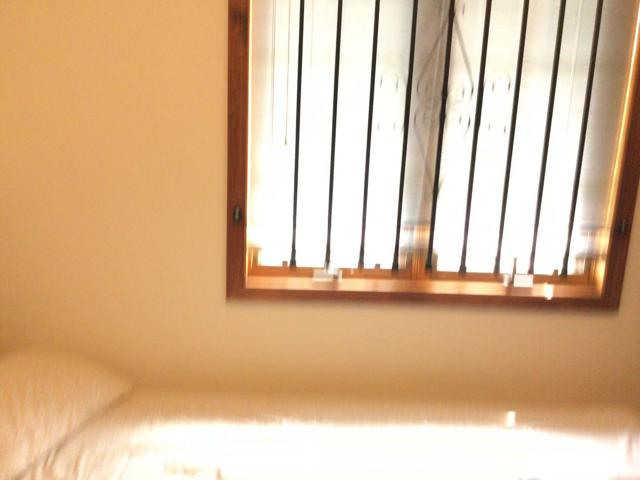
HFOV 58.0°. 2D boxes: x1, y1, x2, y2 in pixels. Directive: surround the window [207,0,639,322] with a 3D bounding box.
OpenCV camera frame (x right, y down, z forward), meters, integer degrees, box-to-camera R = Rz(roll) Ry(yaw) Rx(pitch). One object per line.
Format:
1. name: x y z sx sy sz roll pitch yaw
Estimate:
1. window: 0.320 -0.450 1.760 1.280 1.390 0.210 0 11 -3
